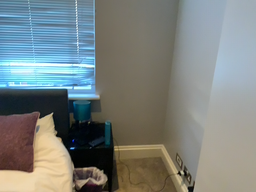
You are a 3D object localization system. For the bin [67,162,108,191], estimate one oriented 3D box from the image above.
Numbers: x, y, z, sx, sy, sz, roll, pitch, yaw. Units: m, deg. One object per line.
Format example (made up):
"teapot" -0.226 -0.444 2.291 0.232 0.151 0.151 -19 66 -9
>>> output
"bin" -0.320 0.740 1.710 0.300 0.310 0.220 0 20 -9
